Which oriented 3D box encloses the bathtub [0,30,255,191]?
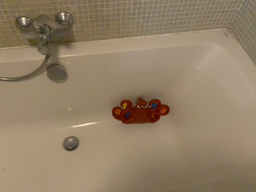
[{"bbox_3d":[-0.360,0.260,0.930,1.860,0.600,0.740,-7,57,-9],"label":"bathtub"}]
